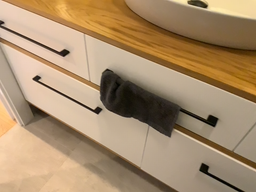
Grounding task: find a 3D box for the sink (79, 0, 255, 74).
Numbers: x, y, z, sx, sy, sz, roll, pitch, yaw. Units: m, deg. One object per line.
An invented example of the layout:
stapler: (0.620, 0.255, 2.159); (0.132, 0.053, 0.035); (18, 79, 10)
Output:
sink: (0.220, -0.300, 0.650); (0.650, 0.110, 0.370); (27, 52, 19)
